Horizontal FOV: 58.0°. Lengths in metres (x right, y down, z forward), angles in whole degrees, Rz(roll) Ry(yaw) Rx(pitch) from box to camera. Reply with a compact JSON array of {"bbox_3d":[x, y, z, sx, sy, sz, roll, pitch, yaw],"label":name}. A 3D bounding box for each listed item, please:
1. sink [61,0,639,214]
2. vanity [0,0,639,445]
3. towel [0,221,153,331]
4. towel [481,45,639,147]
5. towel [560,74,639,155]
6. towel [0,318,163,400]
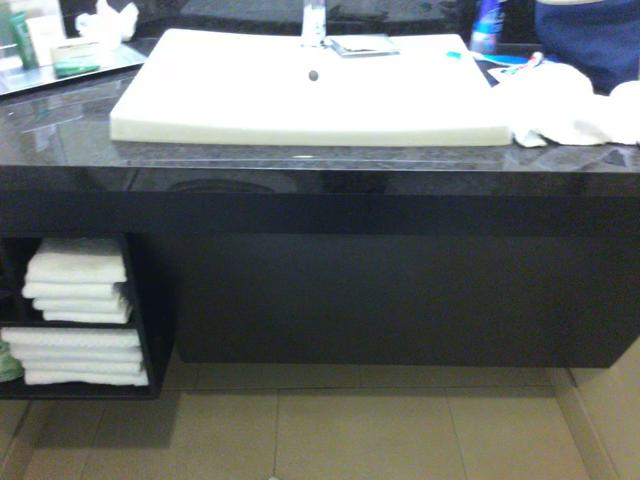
[{"bbox_3d":[0.050,-0.300,1.000,0.750,0.290,0.490,0,35,-2],"label":"sink"},{"bbox_3d":[-0.020,-0.090,1.130,1.360,0.730,0.600,0,35,-2],"label":"vanity"},{"bbox_3d":[-0.410,0.060,0.960,0.220,0.160,0.090,0,35,-2],"label":"towel"},{"bbox_3d":[0.370,-0.230,0.900,0.170,0.080,0.220,0,35,-2],"label":"towel"},{"bbox_3d":[0.490,-0.200,0.900,0.150,0.050,0.200,0,35,-2],"label":"towel"},{"bbox_3d":[-0.490,0.220,1.060,0.370,0.170,0.040,0,35,-2],"label":"towel"}]
